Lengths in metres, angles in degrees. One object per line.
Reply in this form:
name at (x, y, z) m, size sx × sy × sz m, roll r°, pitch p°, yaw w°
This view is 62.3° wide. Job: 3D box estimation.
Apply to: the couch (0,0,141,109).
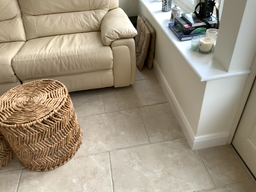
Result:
couch at (-0.990, -0.610, 2.050) m, size 2.060 × 0.950 × 1.030 m, roll -8°, pitch 40°, yaw -3°
